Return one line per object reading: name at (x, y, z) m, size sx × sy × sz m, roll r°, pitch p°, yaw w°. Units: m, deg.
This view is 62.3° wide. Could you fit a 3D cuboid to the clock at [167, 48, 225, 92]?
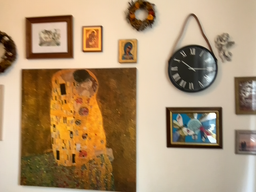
clock at (0.470, -0.180, 1.490) m, size 0.380 × 0.300 × 0.050 m, roll 0°, pitch 0°, yaw 9°
